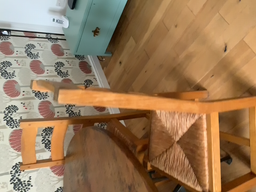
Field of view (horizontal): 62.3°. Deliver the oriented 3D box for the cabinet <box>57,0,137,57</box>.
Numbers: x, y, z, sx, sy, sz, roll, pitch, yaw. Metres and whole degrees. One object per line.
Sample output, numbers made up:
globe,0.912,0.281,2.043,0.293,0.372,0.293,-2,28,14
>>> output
cabinet,-0.280,-1.020,2.030,1.150,0.460,0.630,-56,49,44
